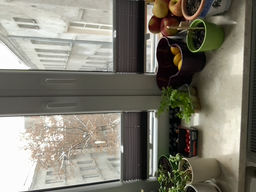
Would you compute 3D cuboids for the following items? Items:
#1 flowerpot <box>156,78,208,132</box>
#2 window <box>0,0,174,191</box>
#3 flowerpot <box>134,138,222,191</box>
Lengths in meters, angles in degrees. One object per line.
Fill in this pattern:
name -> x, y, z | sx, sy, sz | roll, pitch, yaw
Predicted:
flowerpot -> 0.240, 0.030, 0.980 | 0.190, 0.140, 0.210 | -156, 66, -70
window -> -0.670, -0.050, 0.830 | 0.170, 1.790, 1.190 | -160, 71, -71
flowerpot -> 0.210, 0.400, 0.980 | 0.280, 0.280, 0.320 | -165, 76, -71
